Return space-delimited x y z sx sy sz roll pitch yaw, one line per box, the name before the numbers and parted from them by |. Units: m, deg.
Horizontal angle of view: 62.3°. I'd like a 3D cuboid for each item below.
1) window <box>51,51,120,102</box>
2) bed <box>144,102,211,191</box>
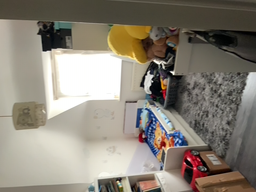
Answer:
window | -0.730 -0.330 3.740 0.110 1.120 0.870 -120 32 -67
bed | 0.670 0.720 3.370 1.400 0.410 0.770 -118 30 -66
